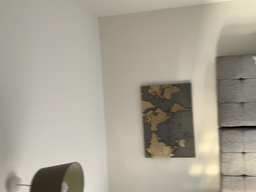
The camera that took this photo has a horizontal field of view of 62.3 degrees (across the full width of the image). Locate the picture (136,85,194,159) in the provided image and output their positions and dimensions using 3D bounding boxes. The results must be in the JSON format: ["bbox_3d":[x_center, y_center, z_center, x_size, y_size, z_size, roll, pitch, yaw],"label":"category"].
[{"bbox_3d":[0.450,0.330,2.580,0.030,0.640,0.900,-30,-64,-77],"label":"picture"}]
